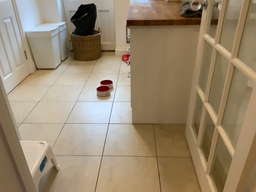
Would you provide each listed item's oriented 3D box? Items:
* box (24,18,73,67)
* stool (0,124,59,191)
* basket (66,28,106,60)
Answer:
[{"bbox_3d":[-1.170,-0.840,3.250,0.390,0.570,0.720,0,28,2],"label":"box"},{"bbox_3d":[-0.640,0.400,1.280,0.270,0.240,0.450,0,28,2],"label":"stool"},{"bbox_3d":[-0.680,-0.880,3.530,0.500,0.410,0.430,3,28,7],"label":"basket"}]
